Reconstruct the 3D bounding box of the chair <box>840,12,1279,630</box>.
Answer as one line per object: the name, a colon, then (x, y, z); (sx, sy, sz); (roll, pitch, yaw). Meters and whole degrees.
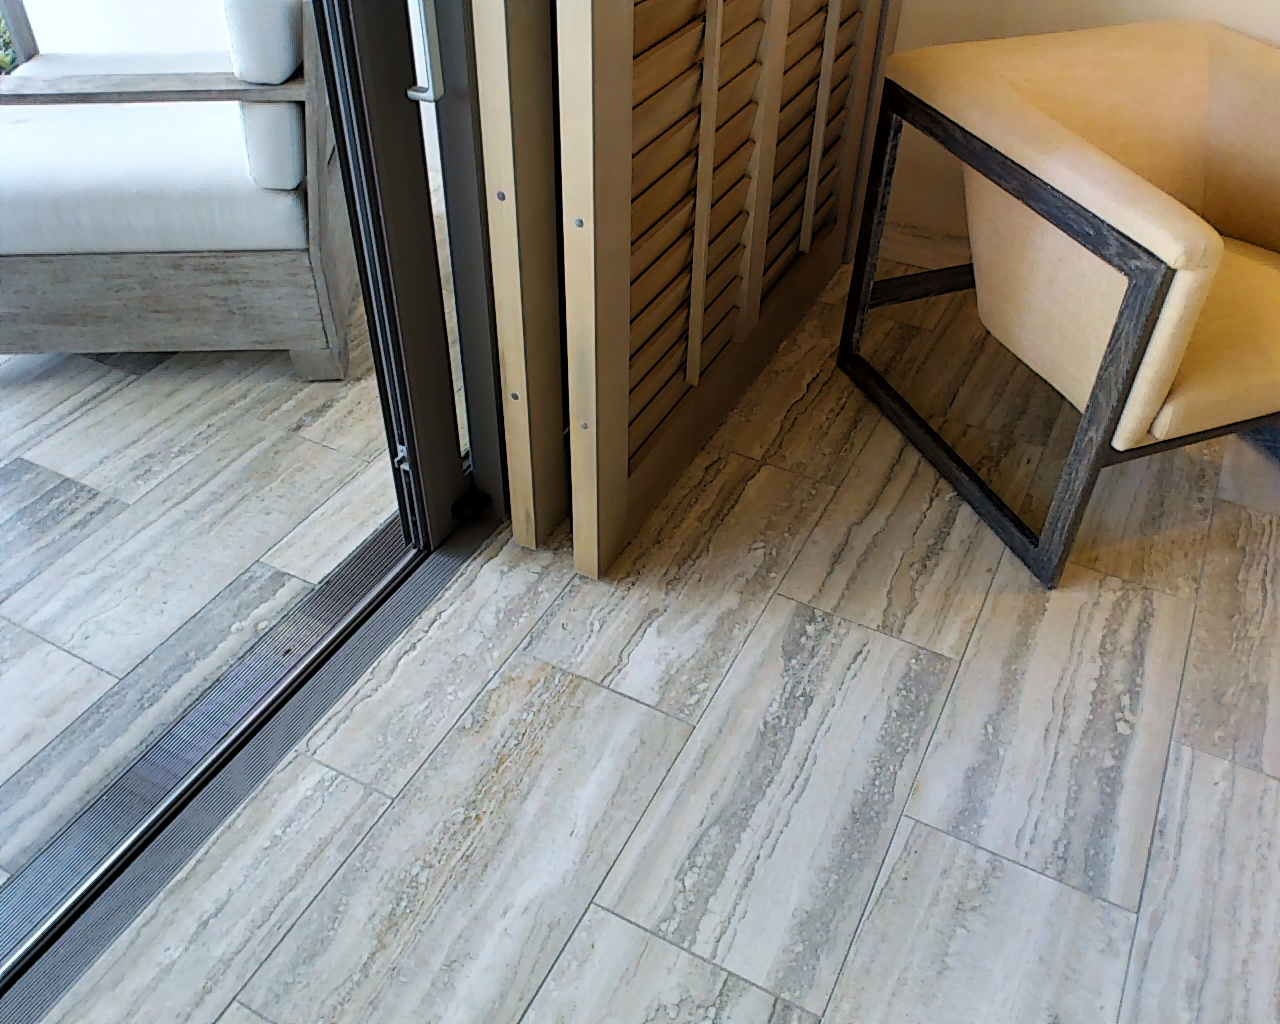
chair: (0.900, -0.380, 1.880); (0.710, 0.660, 0.790); (-13, 43, -16)
